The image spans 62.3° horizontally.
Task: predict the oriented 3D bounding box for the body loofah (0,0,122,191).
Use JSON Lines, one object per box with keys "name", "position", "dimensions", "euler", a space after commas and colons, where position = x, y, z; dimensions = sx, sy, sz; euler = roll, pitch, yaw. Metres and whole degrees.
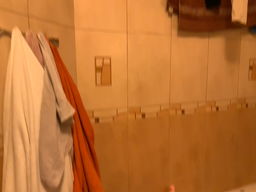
{"name": "body loofah", "position": [-0.260, 0.320, 0.900], "dimensions": [0.300, 1.280, 0.450], "euler": [3, 8, 23]}
